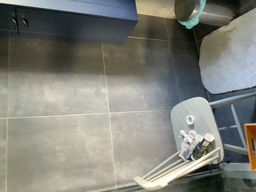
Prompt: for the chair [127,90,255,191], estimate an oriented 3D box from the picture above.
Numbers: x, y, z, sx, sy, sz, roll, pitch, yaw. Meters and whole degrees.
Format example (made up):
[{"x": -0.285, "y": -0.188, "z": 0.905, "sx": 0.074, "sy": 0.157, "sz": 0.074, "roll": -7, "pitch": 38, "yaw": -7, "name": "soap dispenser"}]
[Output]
[{"x": 0.450, "y": 0.270, "z": 1.380, "sx": 0.400, "sy": 0.760, "sz": 0.510, "roll": 143, "pitch": 123, "yaw": -62, "name": "chair"}]
